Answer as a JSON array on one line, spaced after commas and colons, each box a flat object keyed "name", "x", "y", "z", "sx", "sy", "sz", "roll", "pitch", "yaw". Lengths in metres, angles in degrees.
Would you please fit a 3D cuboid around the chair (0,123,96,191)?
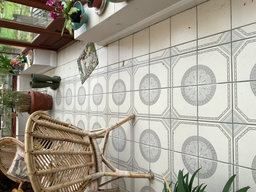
[{"name": "chair", "x": -0.940, "y": 0.790, "z": 2.290, "sx": 0.720, "sy": 0.820, "sz": 0.610, "roll": 54, "pitch": 130, "yaw": 38}]

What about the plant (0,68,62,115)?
[{"name": "plant", "x": -1.580, "y": -0.060, "z": 3.270, "sx": 0.620, "sy": 0.910, "sz": 0.630, "roll": 3, "pitch": 91, "yaw": 53}]

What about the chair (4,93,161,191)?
[{"name": "chair", "x": -0.390, "y": 0.440, "z": 1.580, "sx": 0.770, "sy": 0.820, "sz": 0.600, "roll": -41, "pitch": 57, "yaw": 44}]
